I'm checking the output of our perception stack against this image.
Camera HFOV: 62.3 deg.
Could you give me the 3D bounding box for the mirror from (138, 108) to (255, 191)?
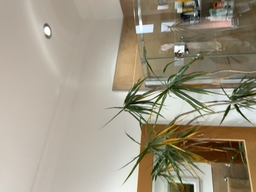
[{"bbox_3d":[0.390,0.840,1.100,0.180,0.710,1.630,71,-157,-58],"label":"mirror"}]
